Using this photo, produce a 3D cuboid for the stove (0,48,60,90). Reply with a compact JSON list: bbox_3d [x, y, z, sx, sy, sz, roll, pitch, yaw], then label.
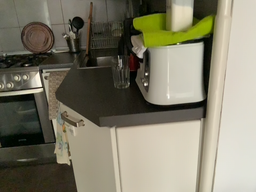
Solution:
[{"bbox_3d":[-0.870,-0.240,1.730,0.480,0.170,0.620,-5,22,-5],"label":"stove"}]
